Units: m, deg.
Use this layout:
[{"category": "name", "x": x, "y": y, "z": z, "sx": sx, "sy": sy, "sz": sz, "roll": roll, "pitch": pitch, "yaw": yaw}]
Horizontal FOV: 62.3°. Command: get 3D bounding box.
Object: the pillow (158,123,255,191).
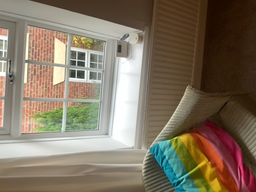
[{"category": "pillow", "x": 0.380, "y": 0.400, "z": 1.150, "sx": 0.490, "sy": 0.410, "sz": 0.200, "roll": -84, "pitch": -11, "yaw": -50}]
